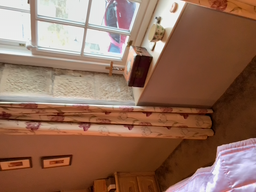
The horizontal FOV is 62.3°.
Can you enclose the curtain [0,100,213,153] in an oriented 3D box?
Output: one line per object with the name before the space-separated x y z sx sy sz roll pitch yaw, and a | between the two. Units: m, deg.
curtain | -0.270 0.230 1.510 0.310 1.870 0.180 113 153 -42
